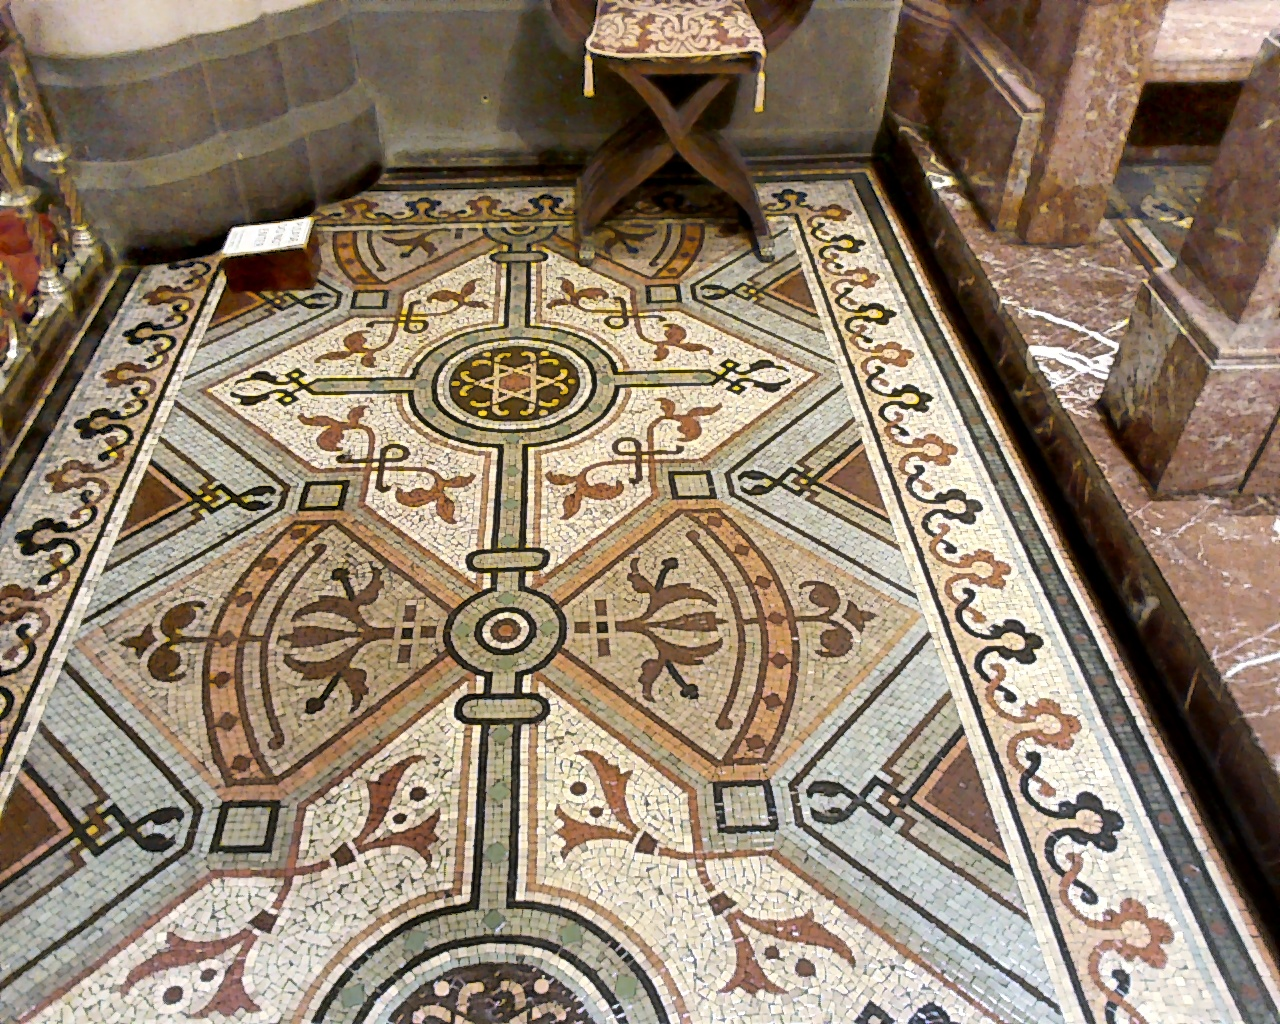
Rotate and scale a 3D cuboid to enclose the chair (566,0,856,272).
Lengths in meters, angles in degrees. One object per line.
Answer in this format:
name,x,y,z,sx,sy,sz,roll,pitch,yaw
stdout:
chair,0.140,-1.190,2.820,0.660,0.900,0.620,0,42,-3
